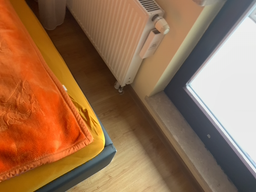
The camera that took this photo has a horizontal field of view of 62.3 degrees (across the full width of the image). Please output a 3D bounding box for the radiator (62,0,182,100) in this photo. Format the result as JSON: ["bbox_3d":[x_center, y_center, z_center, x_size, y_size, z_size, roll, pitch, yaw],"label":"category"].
[{"bbox_3d":[-0.150,-0.550,1.430,0.190,0.690,0.940,-24,69,-28],"label":"radiator"}]
